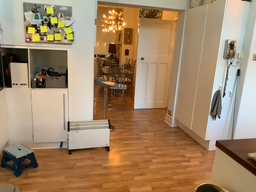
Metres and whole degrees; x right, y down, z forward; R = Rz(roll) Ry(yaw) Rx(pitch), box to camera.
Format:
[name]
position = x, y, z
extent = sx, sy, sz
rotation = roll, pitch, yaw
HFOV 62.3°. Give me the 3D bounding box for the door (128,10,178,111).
[door]
position = 0.550, -0.750, 4.940
extent = 0.970, 2.250, 0.160
rotation = 0, 14, -14
